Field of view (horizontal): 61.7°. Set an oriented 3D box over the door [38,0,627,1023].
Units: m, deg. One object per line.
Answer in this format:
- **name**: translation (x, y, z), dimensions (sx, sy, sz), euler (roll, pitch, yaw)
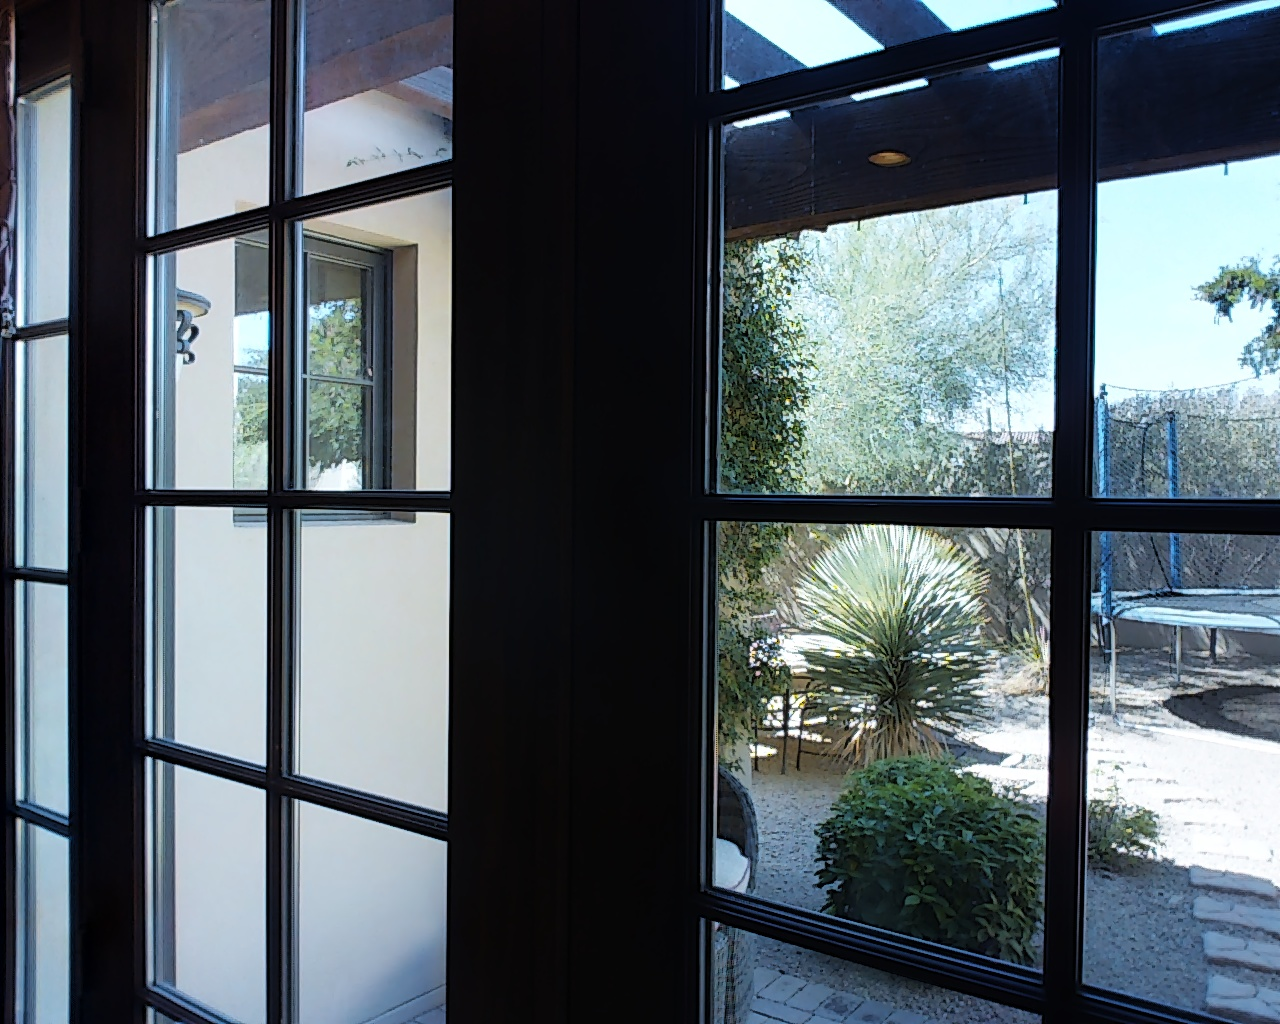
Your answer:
- **door**: translation (-0.440, 0.360, 1.280), dimensions (0.940, 2.350, 0.090), euler (2, 2, 35)
